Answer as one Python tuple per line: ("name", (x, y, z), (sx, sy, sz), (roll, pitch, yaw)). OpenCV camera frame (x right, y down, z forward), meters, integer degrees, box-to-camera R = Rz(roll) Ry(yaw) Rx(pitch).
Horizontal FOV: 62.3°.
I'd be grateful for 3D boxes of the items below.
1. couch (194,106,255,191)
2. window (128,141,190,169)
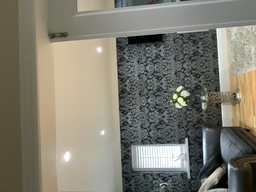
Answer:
("couch", (1.530, 0.970, 3.020), (1.580, 0.830, 1.260), (-64, -29, -77))
("window", (0.640, 1.240, 4.450), (0.060, 1.250, 0.560), (-6, -86, -84))
